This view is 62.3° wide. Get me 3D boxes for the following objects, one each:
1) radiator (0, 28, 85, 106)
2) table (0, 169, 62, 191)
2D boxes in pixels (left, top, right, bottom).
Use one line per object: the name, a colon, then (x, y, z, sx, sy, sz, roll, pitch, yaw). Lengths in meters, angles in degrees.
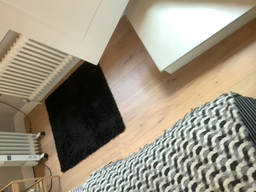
radiator: (-0.870, -0.190, 1.920, 0.830, 0.550, 0.070, -37, 61, 24)
table: (-0.870, 0.920, 1.860, 0.380, 0.410, 0.380, -38, 60, 23)
